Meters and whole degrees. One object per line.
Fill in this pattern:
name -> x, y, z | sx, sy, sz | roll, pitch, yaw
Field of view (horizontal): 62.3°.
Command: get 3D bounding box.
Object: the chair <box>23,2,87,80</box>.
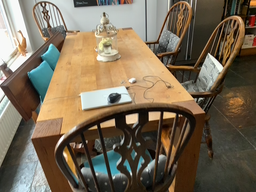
chair -> -1.160, -0.920, 3.490 | 0.610, 1.060, 0.560 | 21, 38, 34

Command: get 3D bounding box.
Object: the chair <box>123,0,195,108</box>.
chair -> 0.350, -0.540, 2.650 | 0.610, 1.130, 0.560 | -13, 31, -18

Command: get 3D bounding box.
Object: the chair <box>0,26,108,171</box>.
chair -> -0.610, -0.140, 2.340 | 0.620, 0.840, 1.630 | -4, 31, 0

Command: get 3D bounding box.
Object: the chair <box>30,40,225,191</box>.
chair -> -0.020, 0.380, 1.110 | 0.540, 1.130, 0.610 | -10, 31, -10
